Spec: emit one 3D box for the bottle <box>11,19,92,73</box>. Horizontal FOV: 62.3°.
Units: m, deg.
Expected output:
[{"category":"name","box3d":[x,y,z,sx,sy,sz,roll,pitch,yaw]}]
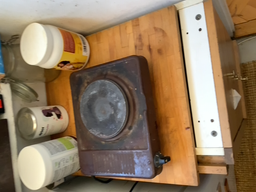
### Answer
[{"category":"bottle","box3d":[-0.230,-0.140,0.650,0.170,0.150,0.110,-4,90,29]}]
